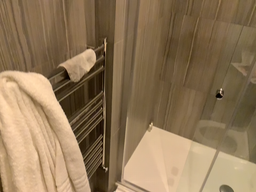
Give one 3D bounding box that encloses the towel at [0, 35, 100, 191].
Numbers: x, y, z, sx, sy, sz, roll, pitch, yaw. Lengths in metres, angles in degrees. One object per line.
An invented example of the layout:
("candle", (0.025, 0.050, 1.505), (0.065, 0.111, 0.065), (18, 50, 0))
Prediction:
("towel", (-0.290, 0.360, 0.820), (0.190, 1.080, 0.350), (18, 35, 19))
